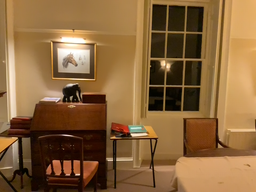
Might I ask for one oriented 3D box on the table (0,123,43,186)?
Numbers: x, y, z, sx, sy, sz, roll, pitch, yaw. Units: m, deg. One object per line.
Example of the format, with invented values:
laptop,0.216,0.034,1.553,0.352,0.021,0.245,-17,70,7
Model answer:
table,-1.400,0.760,2.830,0.370,0.700,0.400,1,7,-5
